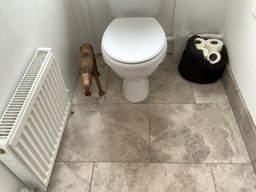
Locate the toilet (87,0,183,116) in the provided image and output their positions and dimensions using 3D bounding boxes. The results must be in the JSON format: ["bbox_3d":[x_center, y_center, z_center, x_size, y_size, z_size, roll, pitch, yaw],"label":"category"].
[{"bbox_3d":[0.040,-0.380,1.270,0.360,0.770,0.660,-1,48,2],"label":"toilet"}]
